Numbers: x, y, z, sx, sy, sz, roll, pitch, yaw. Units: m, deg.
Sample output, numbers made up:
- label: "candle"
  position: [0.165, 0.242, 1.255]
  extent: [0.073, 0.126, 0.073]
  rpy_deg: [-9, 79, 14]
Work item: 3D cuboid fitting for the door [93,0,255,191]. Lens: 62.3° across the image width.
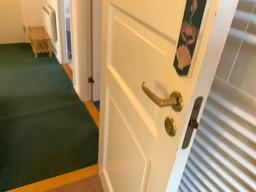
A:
- label: "door"
  position: [0.020, -0.150, 0.780]
  extent: [0.090, 2.160, 0.970]
  rpy_deg: [-5, 34, -19]
